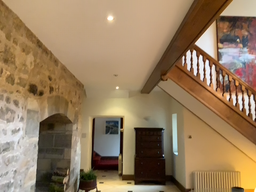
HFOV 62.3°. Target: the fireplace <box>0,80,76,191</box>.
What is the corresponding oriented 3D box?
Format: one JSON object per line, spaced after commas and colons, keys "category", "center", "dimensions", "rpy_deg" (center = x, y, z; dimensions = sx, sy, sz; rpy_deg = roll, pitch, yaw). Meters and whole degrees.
{"category": "fireplace", "center": [-2.040, 1.080, 3.920], "dimensions": [1.520, 2.320, 2.350], "rpy_deg": [2, -7, -2]}
